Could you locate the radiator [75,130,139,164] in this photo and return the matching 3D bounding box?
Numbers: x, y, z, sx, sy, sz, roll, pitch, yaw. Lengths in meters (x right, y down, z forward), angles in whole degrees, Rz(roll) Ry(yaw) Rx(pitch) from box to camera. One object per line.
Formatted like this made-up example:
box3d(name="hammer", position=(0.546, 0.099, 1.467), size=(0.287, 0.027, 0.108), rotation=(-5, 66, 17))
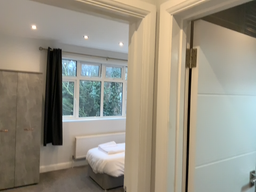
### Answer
box3d(name="radiator", position=(-0.420, 1.090, 4.700), size=(1.490, 0.530, 0.150), rotation=(1, 2, -33))
